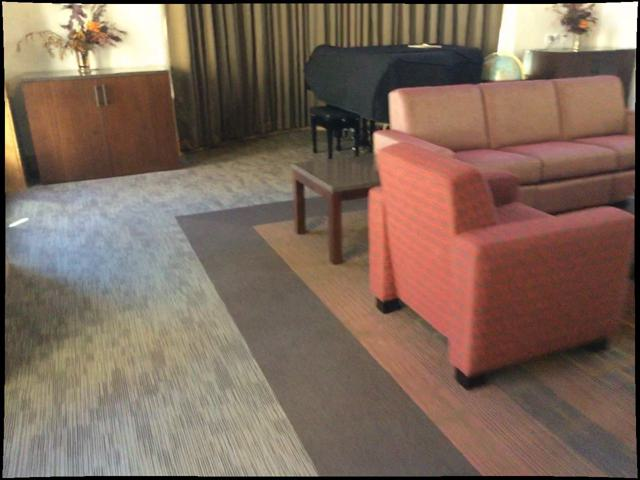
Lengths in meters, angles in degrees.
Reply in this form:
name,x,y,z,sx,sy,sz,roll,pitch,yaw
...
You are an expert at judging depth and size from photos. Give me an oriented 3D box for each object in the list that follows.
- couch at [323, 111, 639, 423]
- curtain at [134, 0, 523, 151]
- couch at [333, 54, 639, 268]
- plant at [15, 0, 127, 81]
name,x,y,z,sx,sy,sz,roll,pitch,yaw
couch,0.679,0.000,2.370,1.039,0.811,0.920,-10,24,-19
curtain,0.220,-2.312,6.560,4.286,1.942,0.900,-10,24,-19
couch,1.508,-0.661,3.950,2.668,0.941,0.930,-10,24,-19
plant,-2.128,-1.772,5.000,0.739,0.651,0.690,-10,24,-19
